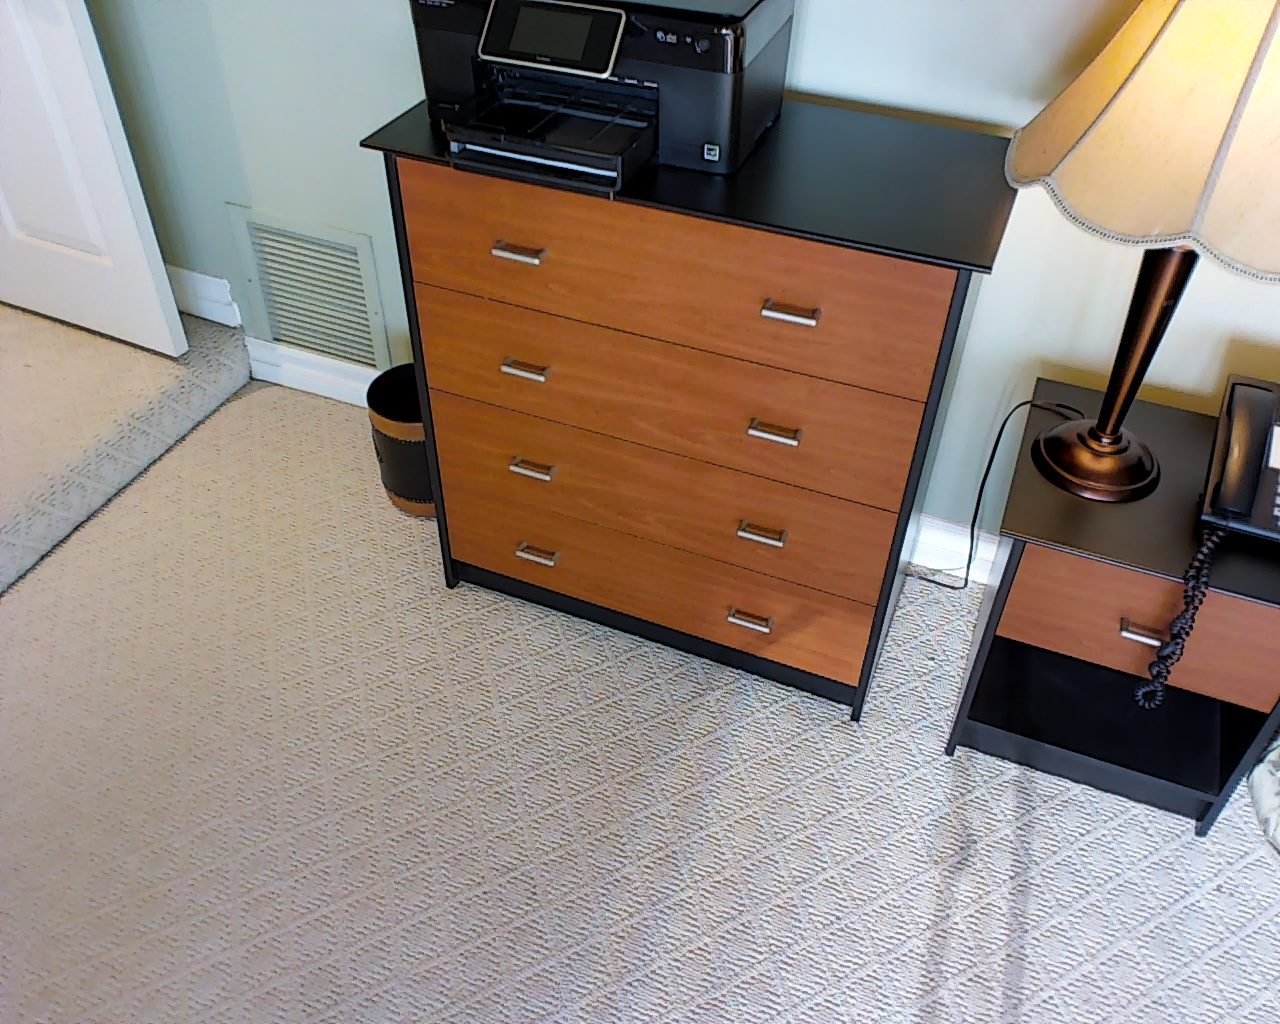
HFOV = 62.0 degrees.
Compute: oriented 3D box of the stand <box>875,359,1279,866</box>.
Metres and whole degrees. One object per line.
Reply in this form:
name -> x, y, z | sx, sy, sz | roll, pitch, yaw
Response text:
stand -> 0.720, 0.140, 1.650 | 0.540, 0.490, 0.430 | 16, 44, 17
